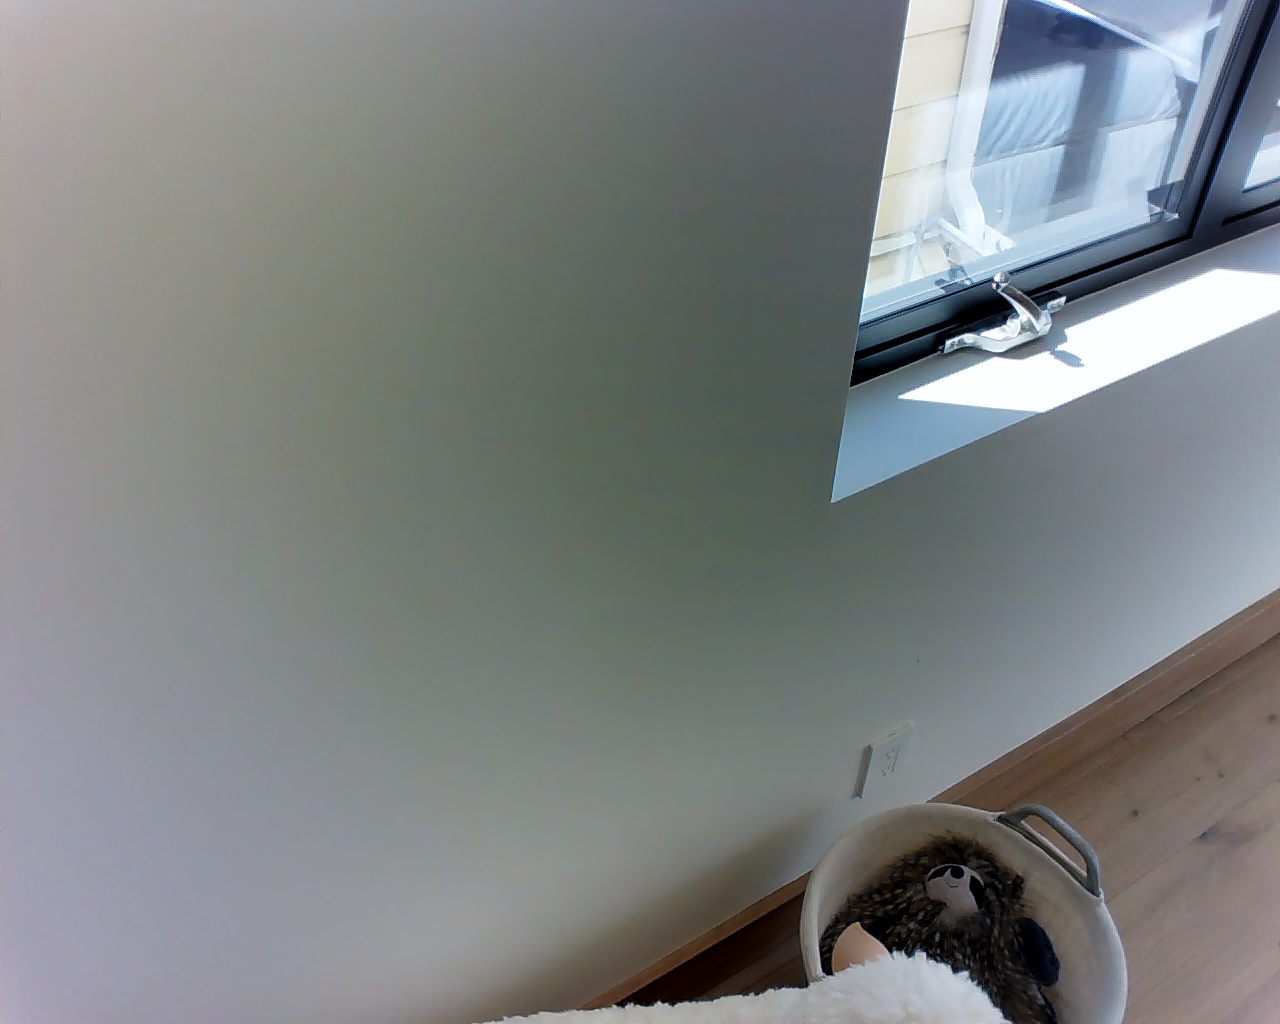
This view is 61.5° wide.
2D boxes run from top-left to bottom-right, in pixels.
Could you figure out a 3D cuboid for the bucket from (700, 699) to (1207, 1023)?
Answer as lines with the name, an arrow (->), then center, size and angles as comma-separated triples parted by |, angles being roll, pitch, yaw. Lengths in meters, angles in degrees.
bucket -> 0.400, 0.610, 1.450 | 0.440, 0.340, 0.450 | 31, 50, 29
